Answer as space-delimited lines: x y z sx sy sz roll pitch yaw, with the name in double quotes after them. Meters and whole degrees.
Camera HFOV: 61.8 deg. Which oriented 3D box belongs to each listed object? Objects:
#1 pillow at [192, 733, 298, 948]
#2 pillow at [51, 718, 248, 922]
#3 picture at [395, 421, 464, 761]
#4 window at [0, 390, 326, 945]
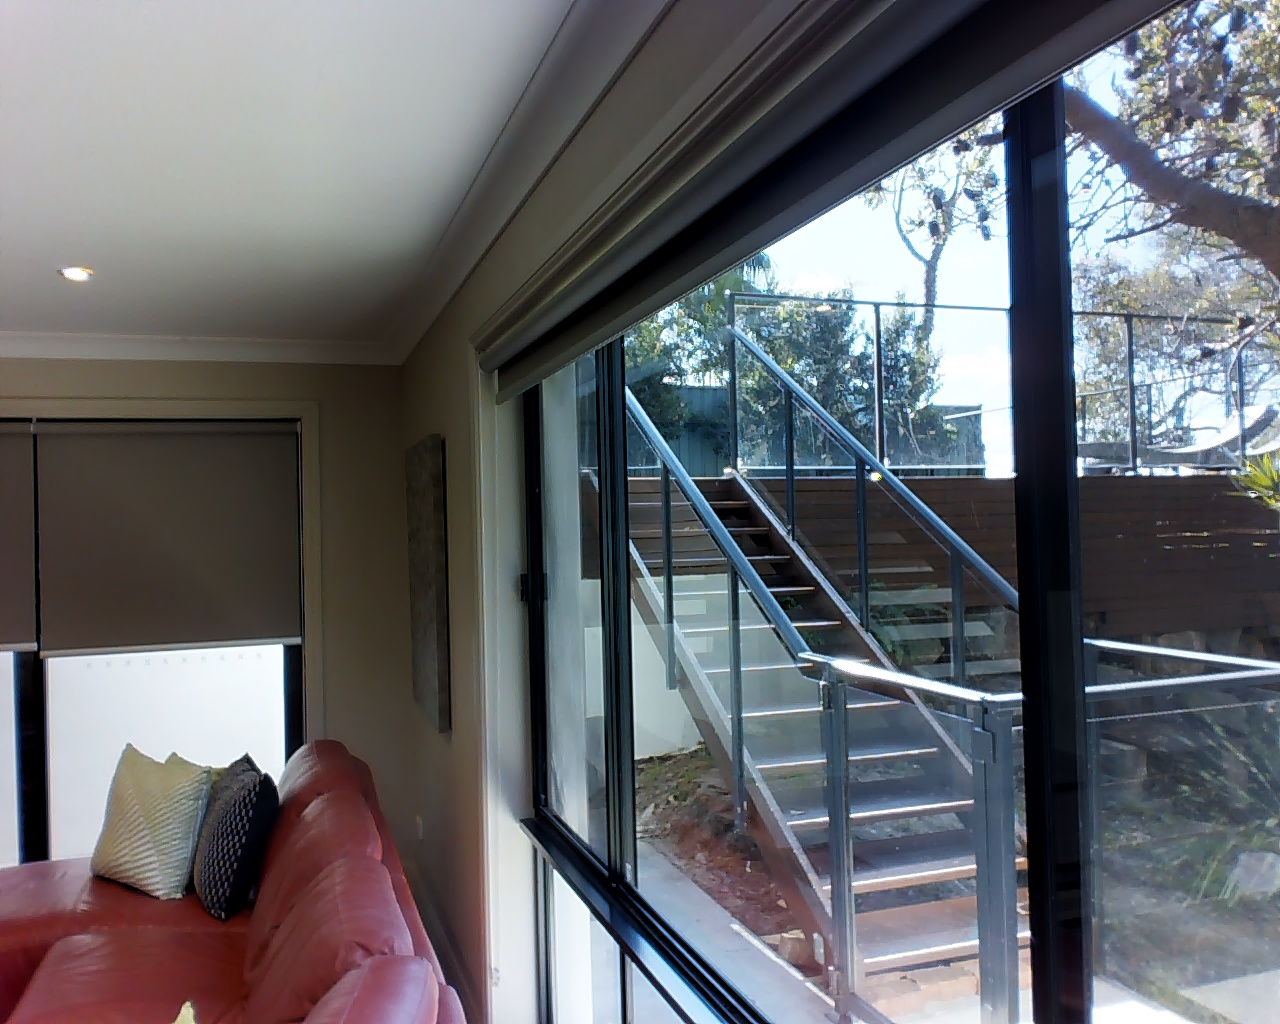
-1.300 1.060 3.530 0.300 0.460 0.520 -1 12 -20 "pillow"
-1.620 1.000 3.540 0.570 0.460 0.280 7 11 25 "pillow"
-0.790 0.270 3.950 0.100 1.120 0.860 -1 -1 -20 "picture"
-2.959 0.610 4.150 3.299 2.161 0.260 -1 -1 -20 "window"
